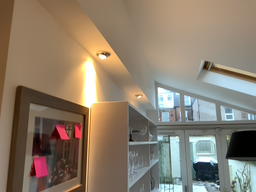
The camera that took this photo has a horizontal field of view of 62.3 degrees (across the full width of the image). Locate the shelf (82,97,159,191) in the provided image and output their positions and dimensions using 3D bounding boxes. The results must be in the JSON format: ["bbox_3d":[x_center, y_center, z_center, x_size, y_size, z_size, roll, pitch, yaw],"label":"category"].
[{"bbox_3d":[0.100,1.200,2.180,0.260,2.000,2.180,-3,-12,12],"label":"shelf"}]
